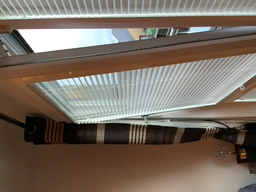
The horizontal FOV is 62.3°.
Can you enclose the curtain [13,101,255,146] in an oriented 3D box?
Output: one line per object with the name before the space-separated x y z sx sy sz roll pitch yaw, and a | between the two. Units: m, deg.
curtain | 0.170 0.240 1.700 0.550 1.850 0.240 94 174 -73
